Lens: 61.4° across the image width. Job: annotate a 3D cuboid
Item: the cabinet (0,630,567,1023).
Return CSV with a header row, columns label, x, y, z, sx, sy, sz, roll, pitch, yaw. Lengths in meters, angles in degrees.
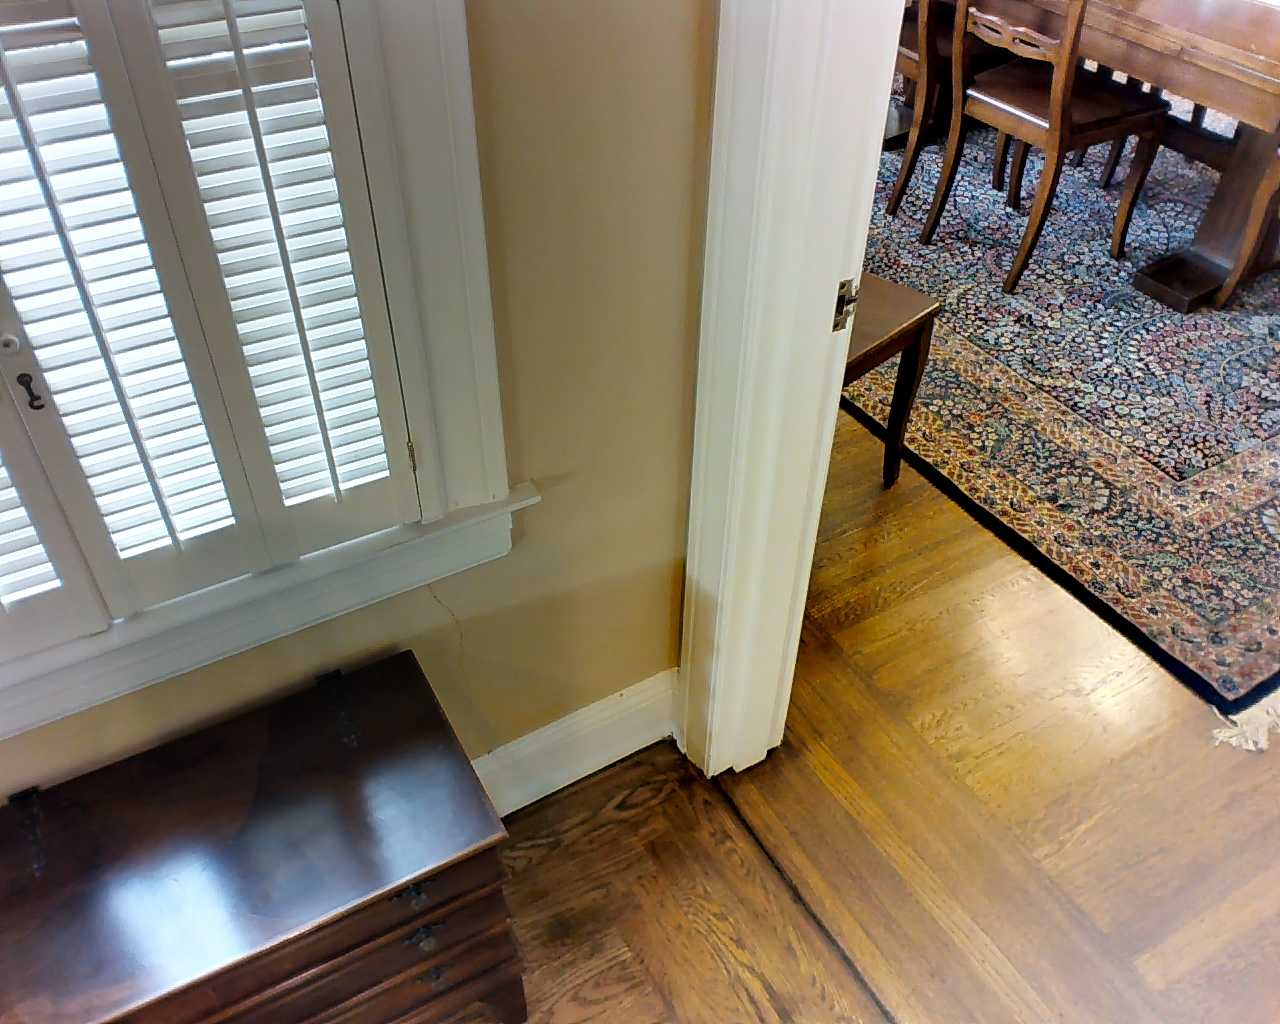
label,x,y,z,sx,sy,sz,roll,pitch,yaw
cabinet,-0.480,0.550,1.360,0.670,0.490,0.350,-21,46,-22
